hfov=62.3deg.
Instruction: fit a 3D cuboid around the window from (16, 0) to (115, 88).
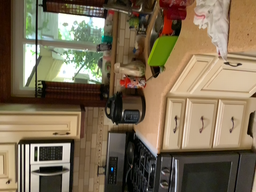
[{"bbox_3d":[-0.560,-0.560,1.960,0.090,0.830,0.920,-153,66,-73],"label":"window"}]
